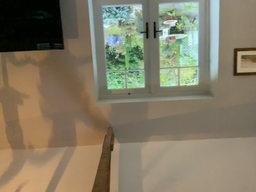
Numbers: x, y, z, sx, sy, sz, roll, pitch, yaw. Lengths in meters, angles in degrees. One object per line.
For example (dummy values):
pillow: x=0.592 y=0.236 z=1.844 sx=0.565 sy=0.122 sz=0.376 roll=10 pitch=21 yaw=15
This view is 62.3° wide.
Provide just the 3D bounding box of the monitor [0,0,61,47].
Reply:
monitor: x=-1.470 y=-1.020 z=2.510 sx=1.240 sy=0.850 sz=0.050 roll=-3 pitch=-171 yaw=0
